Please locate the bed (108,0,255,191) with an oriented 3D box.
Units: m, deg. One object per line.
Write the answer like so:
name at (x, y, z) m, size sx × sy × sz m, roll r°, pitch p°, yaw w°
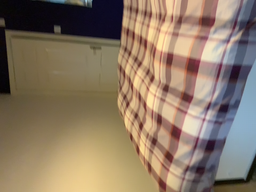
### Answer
bed at (0.400, -0.630, 1.480) m, size 1.660 × 0.730 × 2.000 m, roll -119°, pitch 33°, yaw -64°
